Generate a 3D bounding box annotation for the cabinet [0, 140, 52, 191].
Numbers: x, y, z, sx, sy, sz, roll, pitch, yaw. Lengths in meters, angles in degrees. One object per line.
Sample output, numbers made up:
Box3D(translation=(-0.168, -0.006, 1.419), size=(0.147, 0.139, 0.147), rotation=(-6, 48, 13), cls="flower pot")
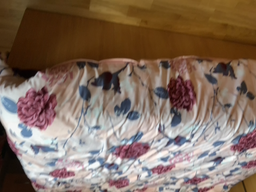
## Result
Box3D(translation=(-1.200, 0.880, 2.510), size=(0.480, 0.570, 0.400), rotation=(6, 145, -13), cls="cabinet")
